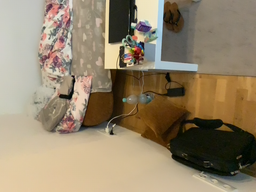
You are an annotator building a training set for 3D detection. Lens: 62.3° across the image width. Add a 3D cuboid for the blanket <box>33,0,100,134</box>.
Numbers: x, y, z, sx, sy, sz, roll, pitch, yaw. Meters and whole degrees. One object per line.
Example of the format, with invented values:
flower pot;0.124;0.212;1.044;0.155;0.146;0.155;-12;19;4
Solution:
blanket;-0.690;-0.650;2.150;1.180;0.170;1.800;11;100;49
